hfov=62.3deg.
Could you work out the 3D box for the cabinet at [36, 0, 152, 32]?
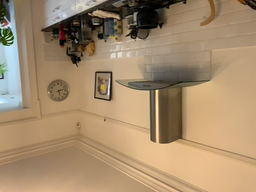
[{"bbox_3d":[-0.630,-1.540,2.960,0.570,0.930,2.050,-9,-169,-41],"label":"cabinet"}]
